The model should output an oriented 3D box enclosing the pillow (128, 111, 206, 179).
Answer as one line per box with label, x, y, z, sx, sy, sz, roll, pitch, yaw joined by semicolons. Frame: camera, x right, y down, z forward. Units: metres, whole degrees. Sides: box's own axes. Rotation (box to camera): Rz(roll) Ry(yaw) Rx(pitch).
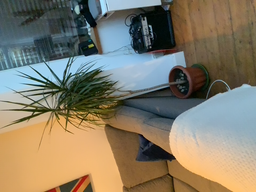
pillow;0.290;0.470;1.900;0.380;0.300;0.710;67;157;18
